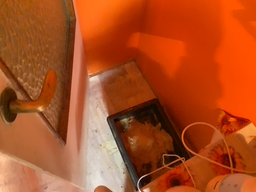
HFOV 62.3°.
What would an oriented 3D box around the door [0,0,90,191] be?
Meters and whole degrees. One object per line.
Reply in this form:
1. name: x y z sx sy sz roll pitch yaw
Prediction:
1. door: -0.230 -0.210 0.560 0.060 1.890 0.810 2 64 -4
